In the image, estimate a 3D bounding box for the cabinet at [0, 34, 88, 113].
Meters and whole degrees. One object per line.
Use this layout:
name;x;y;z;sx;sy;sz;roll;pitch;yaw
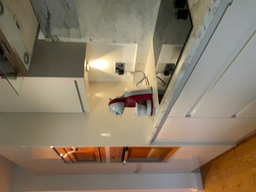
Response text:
cabinet;-0.710;-0.140;1.610;0.530;0.730;0.340;99;171;-60

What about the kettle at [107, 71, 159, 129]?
kettle;0.020;0.040;1.600;0.320;0.340;0.320;99;171;-60
